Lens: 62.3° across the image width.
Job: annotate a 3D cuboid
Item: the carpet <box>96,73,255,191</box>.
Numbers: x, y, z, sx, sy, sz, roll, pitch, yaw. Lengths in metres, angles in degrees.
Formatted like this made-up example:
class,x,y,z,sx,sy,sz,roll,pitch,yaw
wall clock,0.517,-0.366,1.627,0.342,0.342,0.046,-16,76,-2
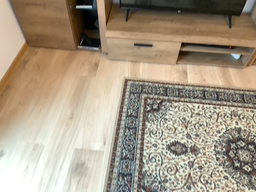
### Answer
class,x,y,z,sx,sy,sz,roll,pitch,yaw
carpet,0.710,0.370,1.380,1.720,0.020,1.230,5,52,3

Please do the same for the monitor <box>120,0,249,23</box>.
class,x,y,z,sx,sy,sz,roll,pitch,yaw
monitor,0.430,-0.840,1.560,0.980,0.580,0.060,5,53,2
